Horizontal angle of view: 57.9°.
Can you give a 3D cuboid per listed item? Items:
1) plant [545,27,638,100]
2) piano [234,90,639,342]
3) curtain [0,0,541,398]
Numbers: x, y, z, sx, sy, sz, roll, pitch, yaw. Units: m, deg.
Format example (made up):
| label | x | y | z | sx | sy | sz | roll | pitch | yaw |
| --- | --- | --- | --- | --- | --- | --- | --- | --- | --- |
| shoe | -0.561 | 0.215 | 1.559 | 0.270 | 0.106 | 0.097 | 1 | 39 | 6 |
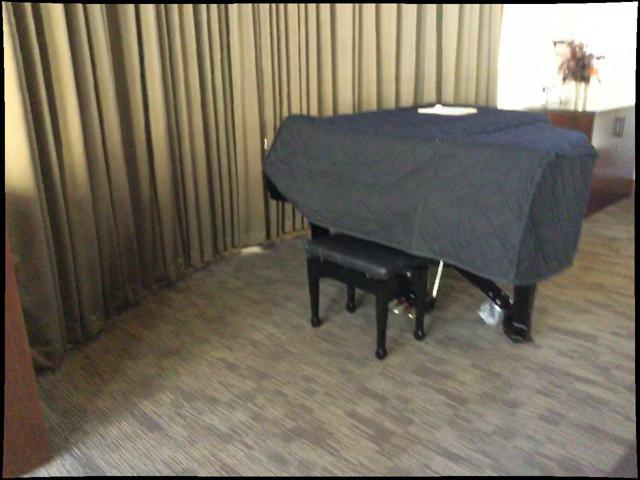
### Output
| label | x | y | z | sx | sy | sz | roll | pitch | yaw |
| --- | --- | --- | --- | --- | --- | --- | --- | --- | --- |
| plant | 2.478 | -1.622 | 5.290 | 0.620 | 0.591 | 0.510 | -17 | 24 | -39 |
| piano | 0.929 | -0.400 | 3.400 | 2.239 | 0.741 | 1.679 | -17 | 24 | -39 |
| curtain | -0.100 | -0.841 | 3.830 | 4.288 | 1.942 | 0.900 | -17 | 24 | -39 |
